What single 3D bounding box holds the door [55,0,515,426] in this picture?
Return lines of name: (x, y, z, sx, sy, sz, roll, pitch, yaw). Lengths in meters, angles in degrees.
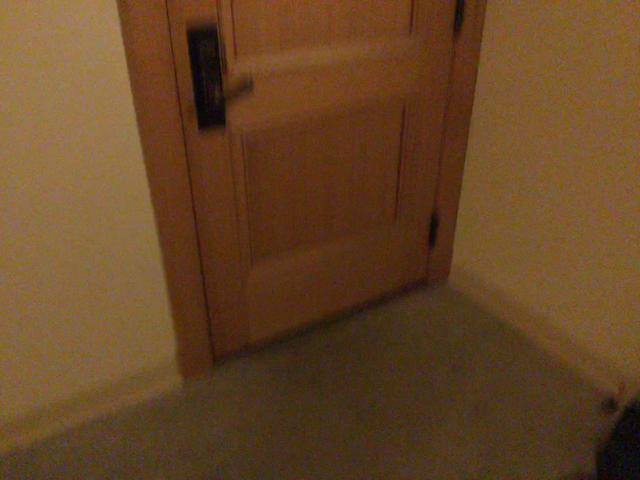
door: (0.020, -0.620, 1.470, 1.280, 2.250, 0.110, -12, 31, -30)
